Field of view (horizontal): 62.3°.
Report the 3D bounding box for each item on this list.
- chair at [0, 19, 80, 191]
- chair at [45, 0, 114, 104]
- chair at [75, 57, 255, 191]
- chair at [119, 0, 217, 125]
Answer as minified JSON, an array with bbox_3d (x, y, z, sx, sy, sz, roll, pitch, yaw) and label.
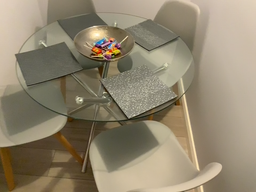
[{"bbox_3d":[-0.600,0.090,1.180,0.470,0.810,0.450,-16,50,-19],"label":"chair"},{"bbox_3d":[-0.370,-0.400,1.700,0.400,0.770,0.470,-10,48,-14],"label":"chair"},{"bbox_3d":[0.070,0.330,1.010,0.460,0.810,0.520,-12,48,-15],"label":"chair"},{"bbox_3d":[0.240,-0.260,1.600,0.420,0.780,0.430,36,54,26],"label":"chair"}]
